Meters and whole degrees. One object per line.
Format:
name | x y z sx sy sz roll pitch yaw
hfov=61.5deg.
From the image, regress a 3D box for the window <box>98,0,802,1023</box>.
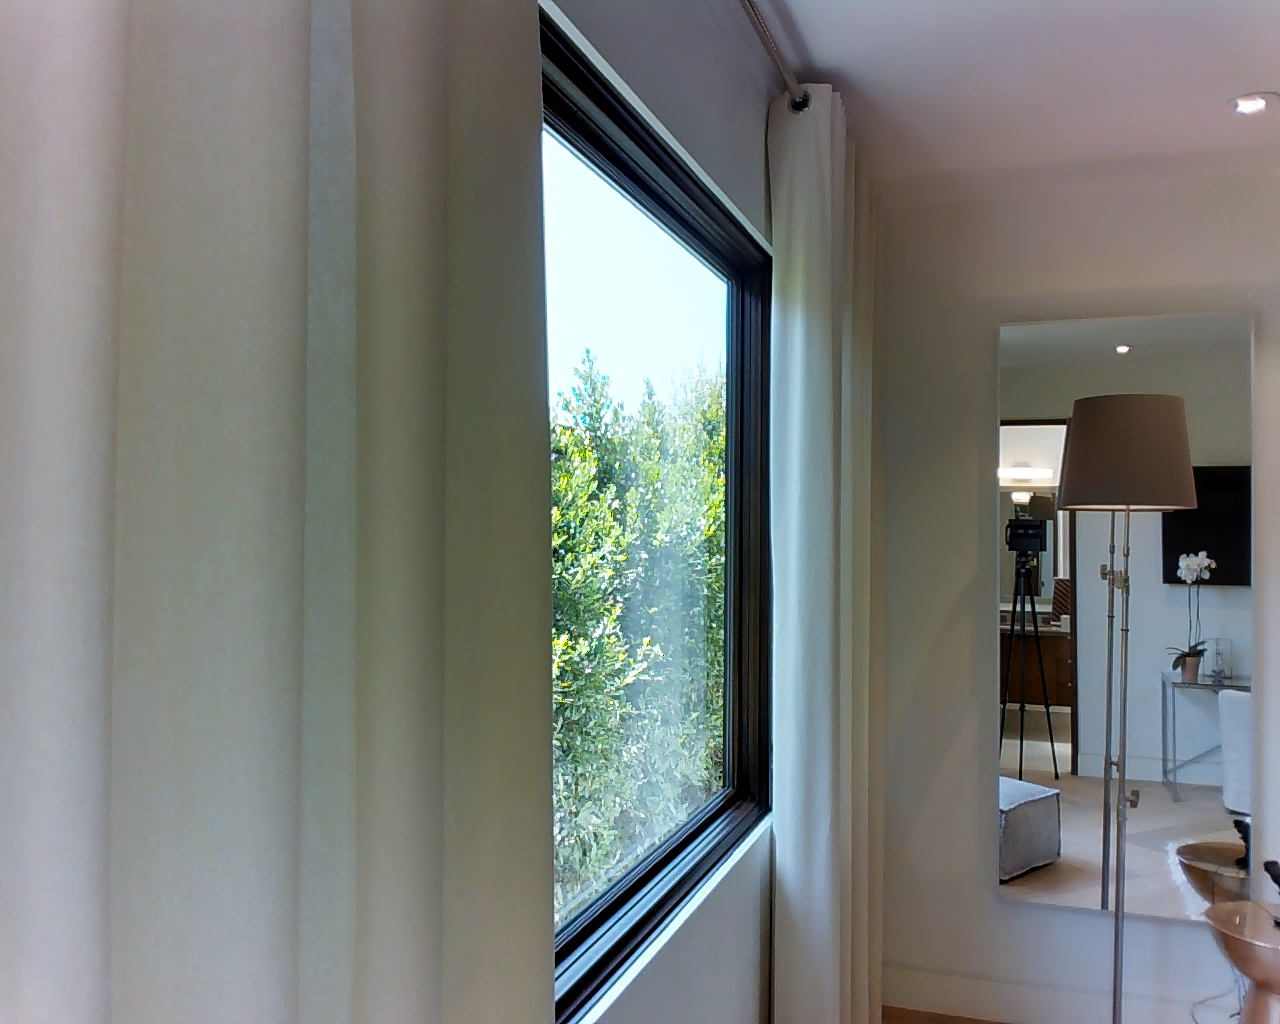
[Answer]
window | -0.040 0.030 1.940 0.270 1.530 2.040 0 -1 19
